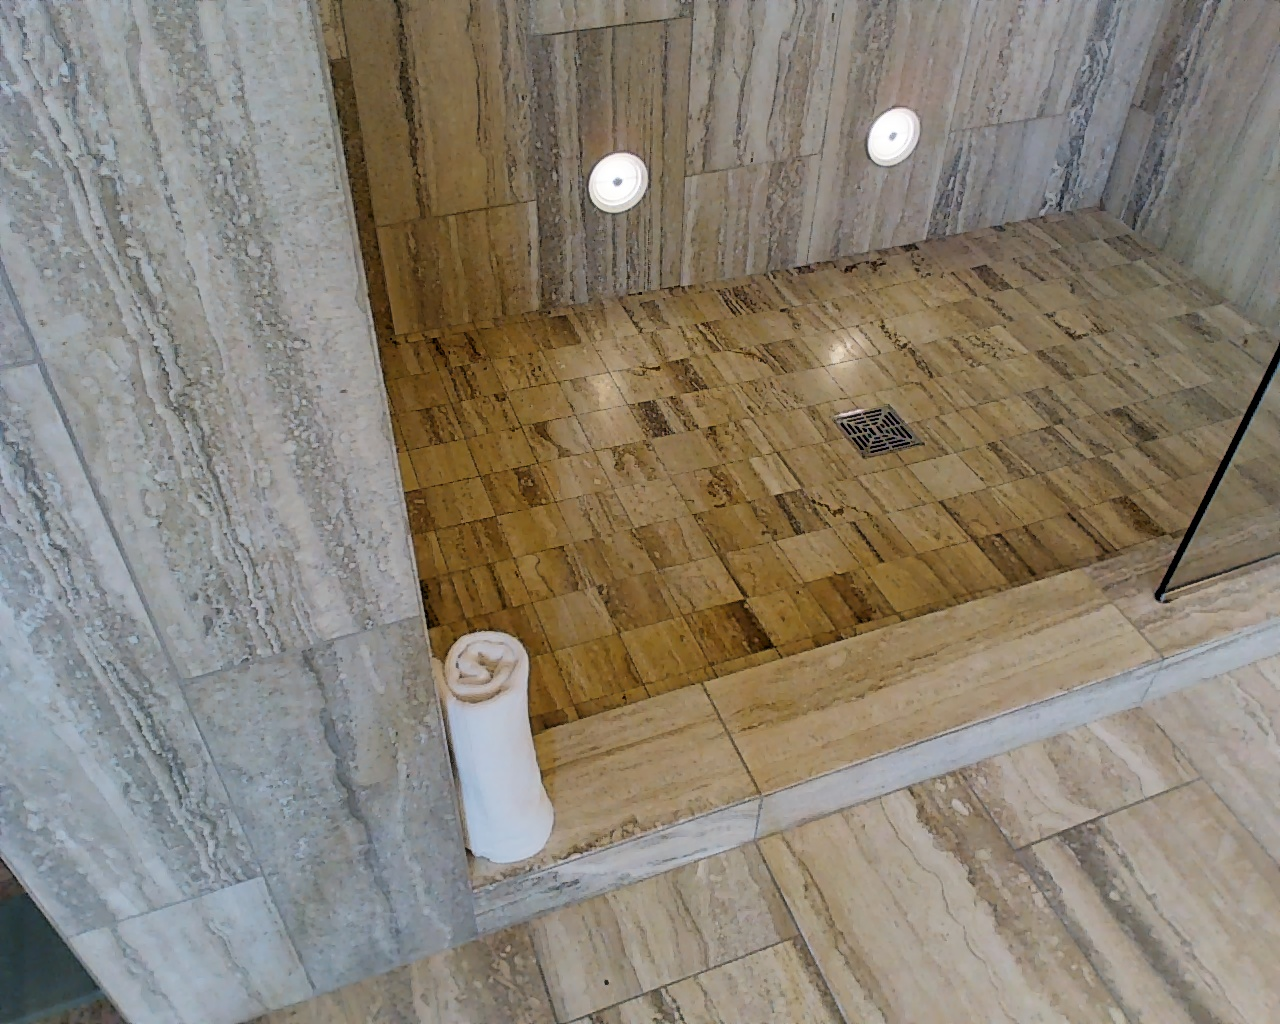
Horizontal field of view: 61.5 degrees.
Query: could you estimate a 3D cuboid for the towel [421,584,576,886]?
[{"bbox_3d":[-0.150,0.250,1.180,0.110,0.310,0.150,-14,45,-15],"label":"towel"}]
